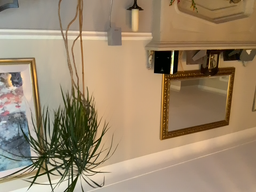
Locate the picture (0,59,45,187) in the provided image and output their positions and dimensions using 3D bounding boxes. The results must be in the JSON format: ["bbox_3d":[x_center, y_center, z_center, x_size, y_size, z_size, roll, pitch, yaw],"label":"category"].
[{"bbox_3d":[-1.090,0.250,1.590,0.770,1.000,0.060,-8,-163,-25],"label":"picture"}]
